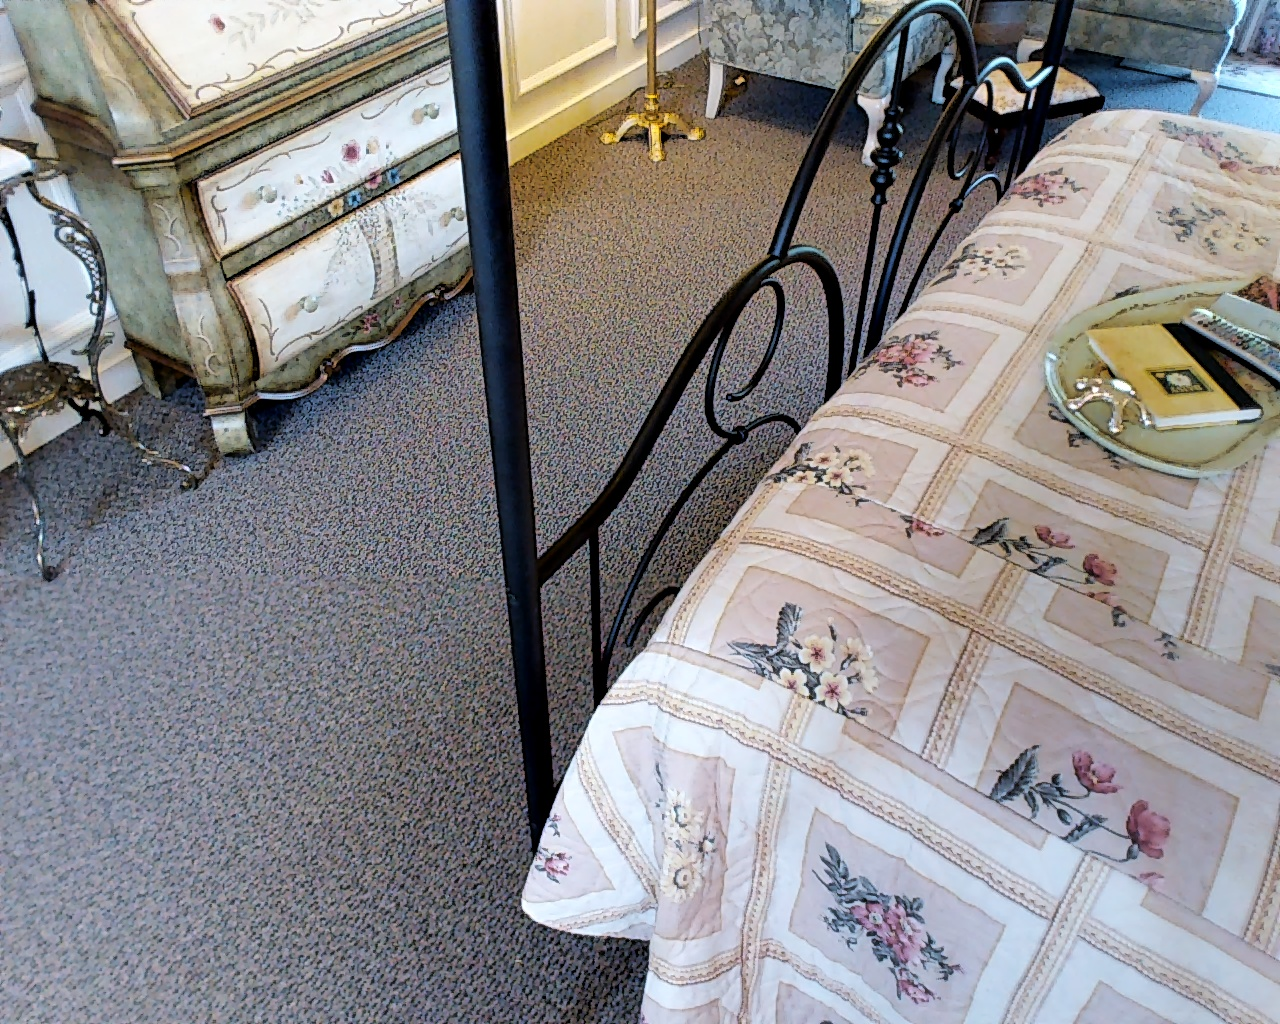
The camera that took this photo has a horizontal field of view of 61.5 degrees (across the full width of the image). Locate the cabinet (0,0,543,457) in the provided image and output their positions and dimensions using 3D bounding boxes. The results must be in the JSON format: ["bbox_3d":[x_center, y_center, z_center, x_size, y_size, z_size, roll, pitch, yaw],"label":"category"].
[{"bbox_3d":[-0.810,-1.320,2.150,0.540,2.100,1.130,23,46,24],"label":"cabinet"}]

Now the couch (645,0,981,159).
[{"bbox_3d":[0.630,-1.950,3.680,0.890,1.020,0.870,23,46,24],"label":"couch"}]

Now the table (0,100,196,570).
[{"bbox_3d":[-1.280,-0.360,2.110,0.440,0.770,0.390,23,46,24],"label":"table"}]
